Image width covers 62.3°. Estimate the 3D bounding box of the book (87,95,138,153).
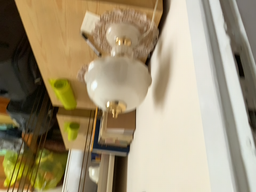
[{"bbox_3d":[-0.090,0.170,1.240,0.250,0.250,0.220,8,151,-9],"label":"book"}]
